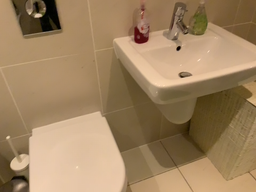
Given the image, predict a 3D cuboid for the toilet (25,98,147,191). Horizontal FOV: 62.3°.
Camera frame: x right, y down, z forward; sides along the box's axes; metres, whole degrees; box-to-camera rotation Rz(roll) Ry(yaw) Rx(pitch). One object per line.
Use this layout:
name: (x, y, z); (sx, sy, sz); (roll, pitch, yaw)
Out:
toilet: (-0.220, 0.420, 1.060); (0.400, 0.500, 0.570); (-15, 40, -17)
